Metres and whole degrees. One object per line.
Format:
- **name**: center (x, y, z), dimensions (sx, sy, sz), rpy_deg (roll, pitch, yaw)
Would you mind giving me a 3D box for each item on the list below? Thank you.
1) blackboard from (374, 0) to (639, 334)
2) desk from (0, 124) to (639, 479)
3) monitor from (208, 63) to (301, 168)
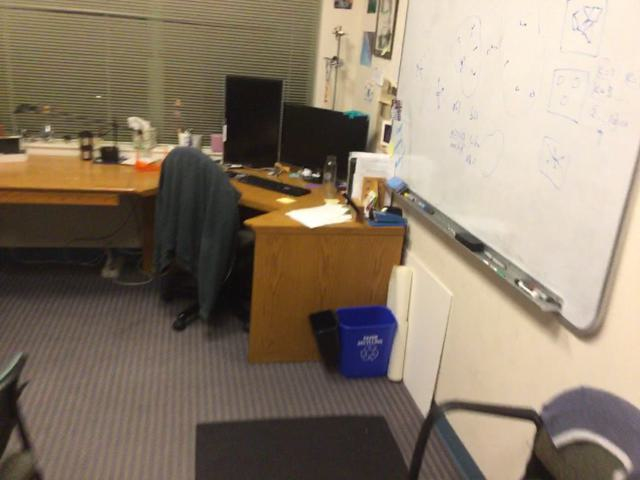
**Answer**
- **blackboard**: center (0.590, -0.580, 2.090), dimensions (0.100, 1.160, 1.630), rpy_deg (1, 20, -15)
- **desk**: center (-0.630, 0.670, 1.290), dimensions (2.900, 0.860, 5.260), rpy_deg (1, 20, -16)
- **monitor**: center (-0.400, -0.740, 3.470), dimensions (0.490, 0.560, 0.200), rpy_deg (1, 20, -16)
